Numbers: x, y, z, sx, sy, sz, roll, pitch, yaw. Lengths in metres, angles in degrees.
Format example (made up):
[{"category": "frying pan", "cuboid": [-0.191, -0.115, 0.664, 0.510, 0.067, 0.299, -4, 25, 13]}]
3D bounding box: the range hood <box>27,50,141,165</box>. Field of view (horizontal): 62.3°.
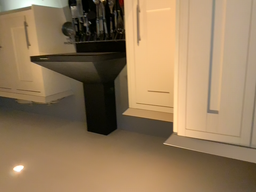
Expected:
[{"category": "range hood", "cuboid": [-0.320, 0.020, 1.730, 0.670, 0.730, 0.520, 6, -163, 30]}]
